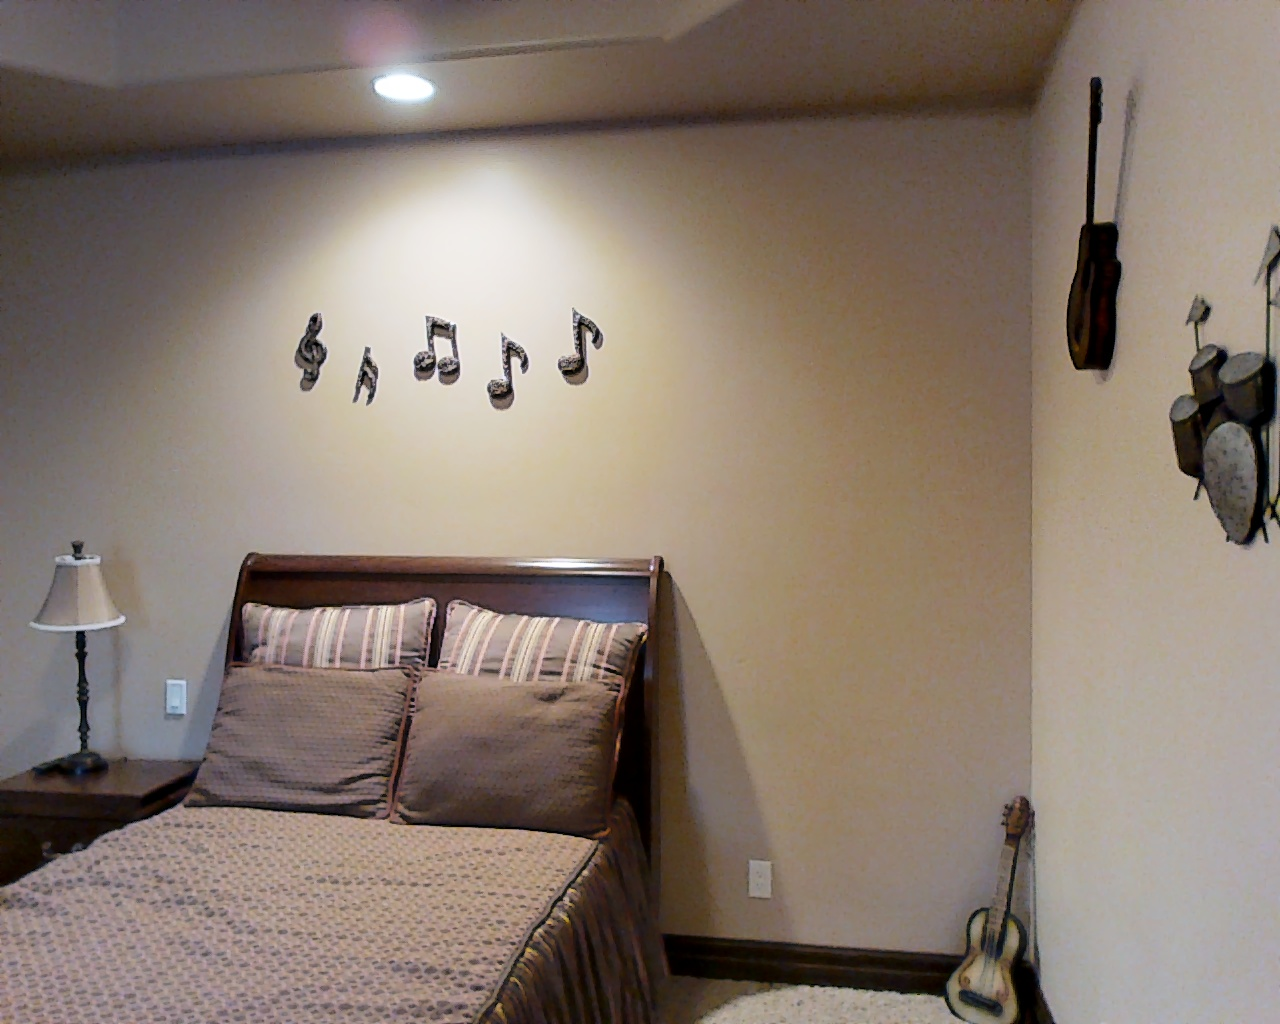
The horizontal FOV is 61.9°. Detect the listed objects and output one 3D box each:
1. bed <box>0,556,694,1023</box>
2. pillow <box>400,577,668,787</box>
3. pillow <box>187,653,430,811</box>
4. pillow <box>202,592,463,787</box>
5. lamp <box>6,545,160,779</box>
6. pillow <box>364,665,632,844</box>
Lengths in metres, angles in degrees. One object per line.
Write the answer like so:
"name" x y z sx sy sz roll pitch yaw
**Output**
"bed" -0.810 0.830 2.480 1.580 1.300 2.220 1 1 10
"pillow" -0.310 0.510 3.270 0.740 0.580 0.280 1 -9 10
"pillow" -0.990 0.650 3.210 0.660 0.390 0.240 1 1 10
"pillow" -0.960 0.550 3.370 0.730 0.560 0.220 1 -9 10
"lamp" -1.850 0.480 3.560 0.330 0.720 0.320 1 1 10
"pillow" -0.380 0.670 2.970 0.650 0.410 0.210 1 -29 10
